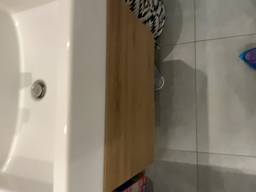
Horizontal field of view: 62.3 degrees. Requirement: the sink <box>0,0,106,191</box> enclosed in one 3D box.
[{"bbox_3d":[-0.300,-0.020,0.590,0.460,0.150,0.610,-2,85,25],"label":"sink"}]
